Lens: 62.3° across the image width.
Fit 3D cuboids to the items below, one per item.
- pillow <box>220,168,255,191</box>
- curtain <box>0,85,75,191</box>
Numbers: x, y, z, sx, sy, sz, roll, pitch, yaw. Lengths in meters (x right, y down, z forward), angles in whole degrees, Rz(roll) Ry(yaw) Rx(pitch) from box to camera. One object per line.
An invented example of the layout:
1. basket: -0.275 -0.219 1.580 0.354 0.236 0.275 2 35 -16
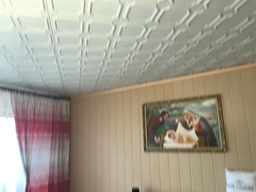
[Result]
1. pillow: 1.250 1.010 2.330 0.370 0.380 0.200 -8 -13 32
2. curtain: -1.600 1.180 3.000 0.170 2.570 2.130 -7 -12 29
